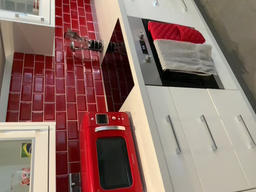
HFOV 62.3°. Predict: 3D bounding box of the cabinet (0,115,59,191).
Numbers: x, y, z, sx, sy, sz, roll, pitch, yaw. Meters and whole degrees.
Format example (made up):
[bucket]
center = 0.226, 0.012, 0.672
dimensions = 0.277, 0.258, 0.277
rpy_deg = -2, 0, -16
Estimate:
[cabinet]
center = -0.780, 0.400, 1.030
dimensions = 0.380, 0.810, 0.500
rpy_deg = 123, 142, -50
